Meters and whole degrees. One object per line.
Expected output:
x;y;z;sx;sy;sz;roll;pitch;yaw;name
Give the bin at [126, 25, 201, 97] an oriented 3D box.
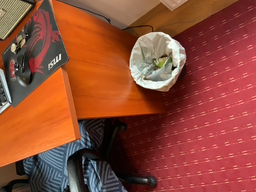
0.200;-0.170;1.190;0.270;0.250;0.280;-22;77;32;bin
